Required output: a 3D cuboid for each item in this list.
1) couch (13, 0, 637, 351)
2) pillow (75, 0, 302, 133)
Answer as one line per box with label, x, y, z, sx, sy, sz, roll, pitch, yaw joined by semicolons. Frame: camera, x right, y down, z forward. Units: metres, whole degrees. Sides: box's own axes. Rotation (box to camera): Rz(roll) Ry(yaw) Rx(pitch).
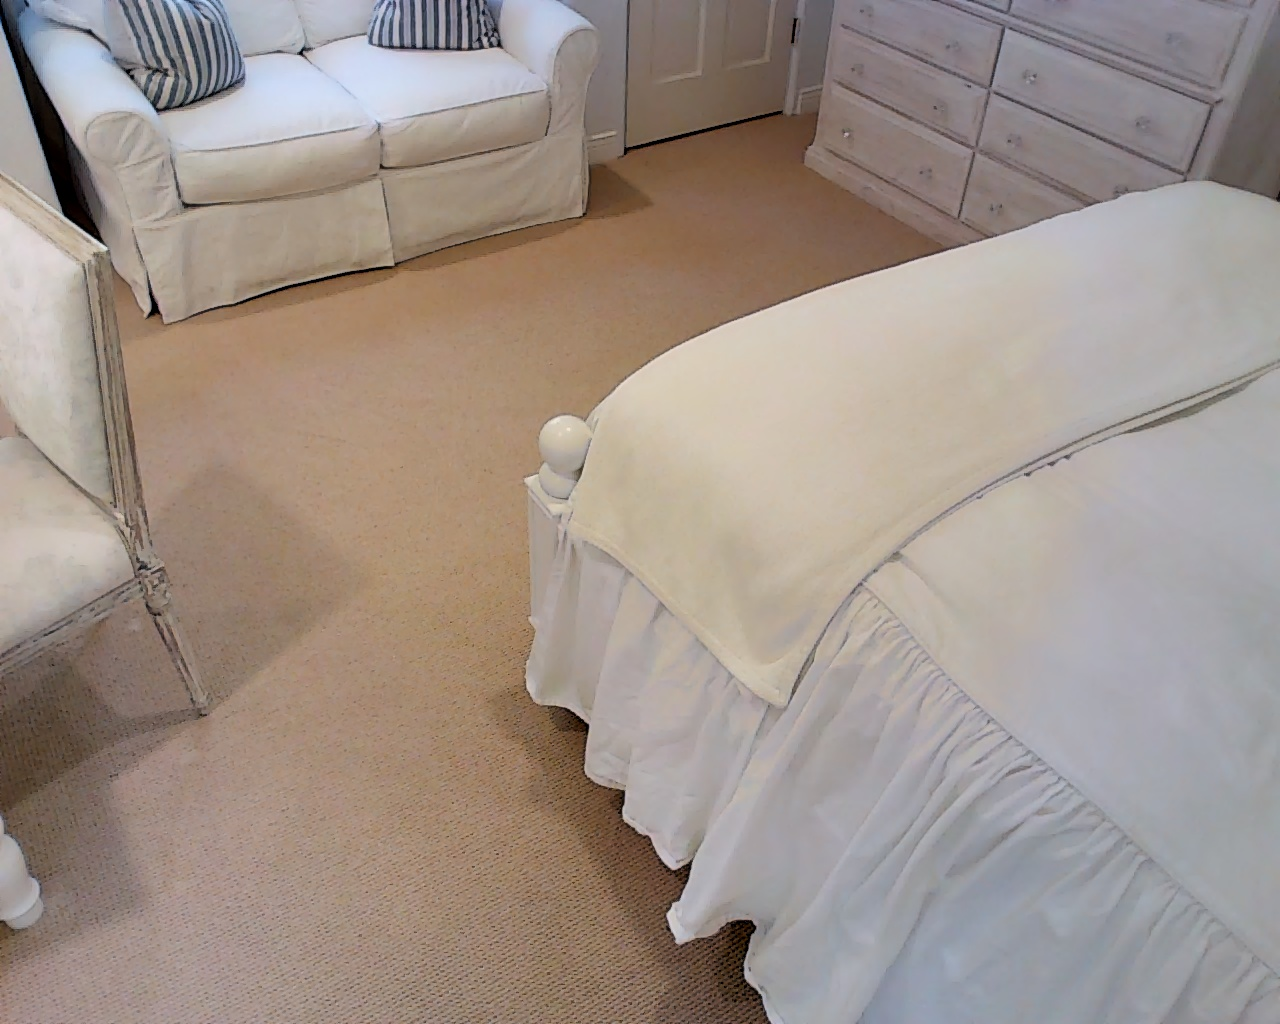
couch;-0.880;-1.180;3.330;1.600;0.660;0.720;-24;48;-27
pillow;-1.220;-1.350;2.960;0.250;0.370;0.450;3;55;21
